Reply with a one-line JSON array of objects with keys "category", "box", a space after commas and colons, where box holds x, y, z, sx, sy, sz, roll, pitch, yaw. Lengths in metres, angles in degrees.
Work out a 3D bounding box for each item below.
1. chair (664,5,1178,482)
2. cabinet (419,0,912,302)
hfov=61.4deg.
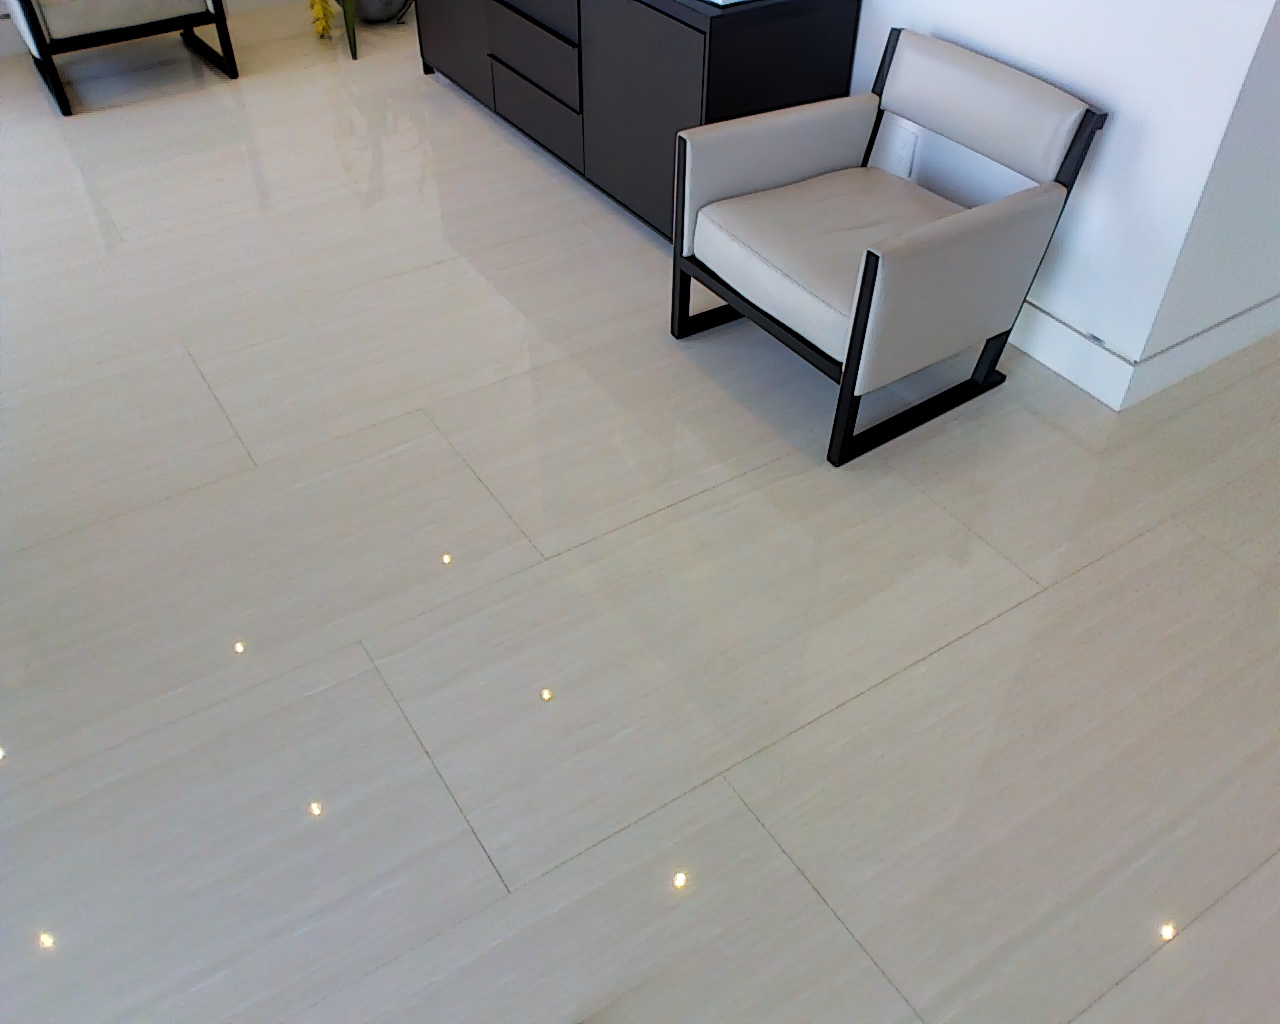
[{"category": "chair", "box": [0.590, -0.670, 2.550, 0.760, 0.680, 0.760, -23, 47, -24]}, {"category": "cabinet", "box": [-0.070, -1.500, 3.440, 0.530, 0.720, 1.960, -23, 47, -24]}]
